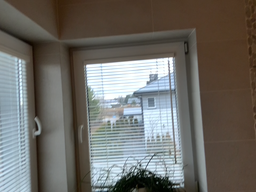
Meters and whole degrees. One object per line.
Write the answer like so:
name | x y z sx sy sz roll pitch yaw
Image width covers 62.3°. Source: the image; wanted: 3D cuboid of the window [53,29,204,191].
window | 0.000 0.250 1.510 0.960 1.330 0.160 -3 -1 6
